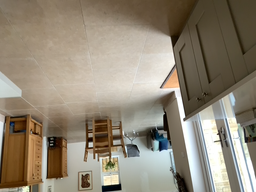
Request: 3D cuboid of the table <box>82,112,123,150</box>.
[{"bbox_3d":[-0.710,1.020,5.860,0.960,0.730,1.510,-3,162,-7],"label":"table"}]
